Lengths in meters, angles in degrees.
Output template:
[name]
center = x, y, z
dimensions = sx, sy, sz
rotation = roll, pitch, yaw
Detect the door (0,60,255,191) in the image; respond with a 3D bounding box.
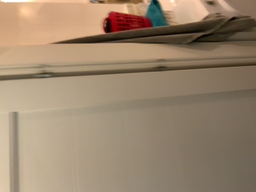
[door]
center = 0.460, 0.270, 1.000
dimensions = 0.090, 2.200, 0.900
rotation = 129, 134, -68

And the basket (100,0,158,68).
[basket]
center = -0.020, -0.520, 1.800
dimensions = 0.400, 0.350, 0.370
rotation = 110, 151, -56
